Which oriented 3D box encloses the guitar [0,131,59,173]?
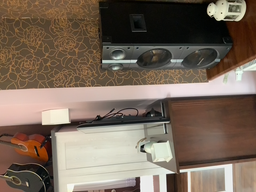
[{"bbox_3d":[-1.220,0.660,2.580,0.390,0.660,0.380,169,98,-80],"label":"guitar"}]
